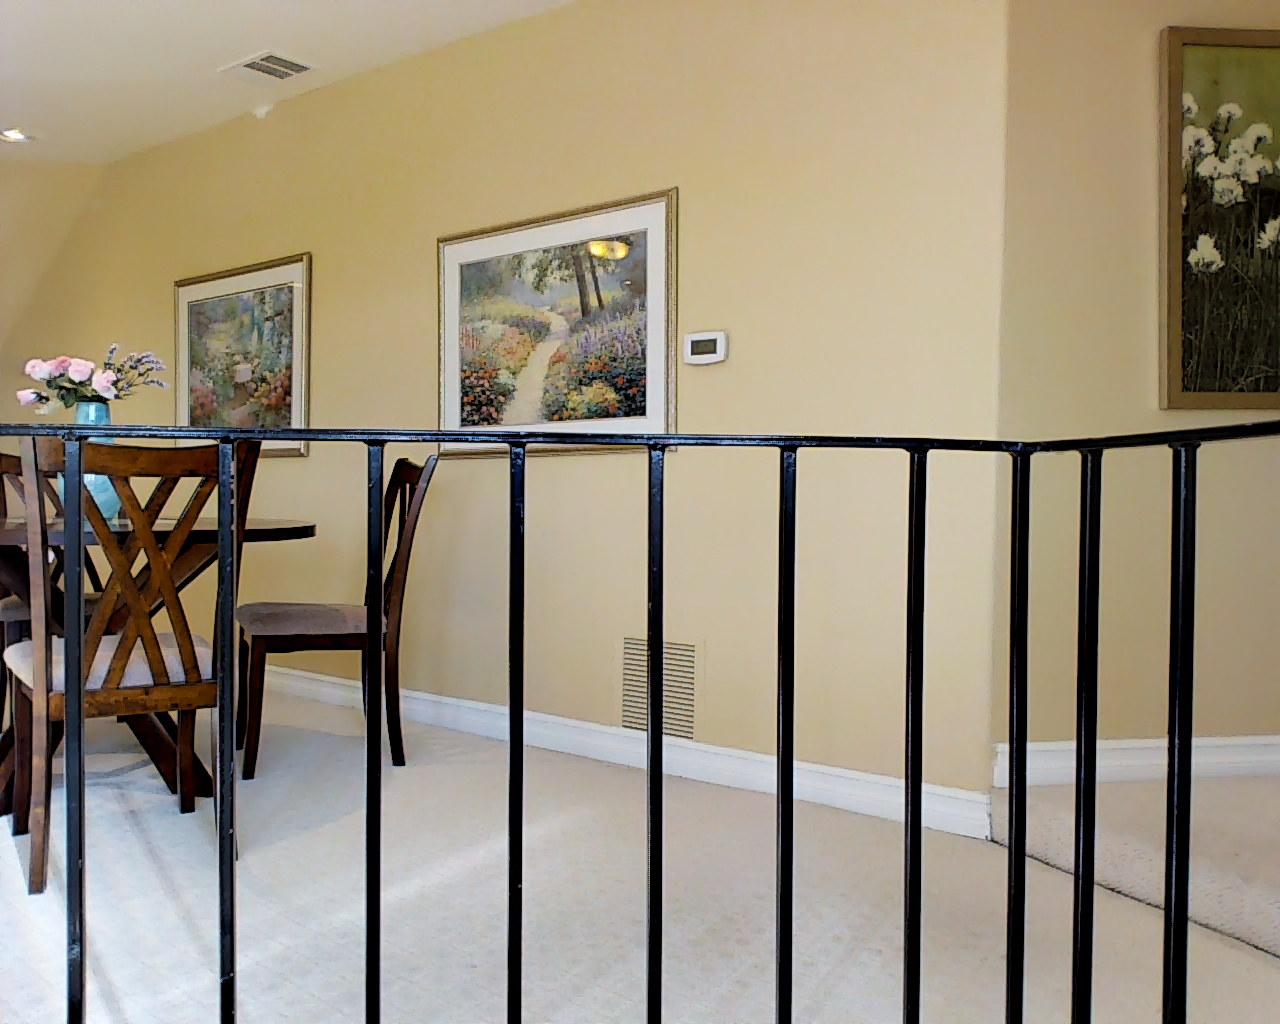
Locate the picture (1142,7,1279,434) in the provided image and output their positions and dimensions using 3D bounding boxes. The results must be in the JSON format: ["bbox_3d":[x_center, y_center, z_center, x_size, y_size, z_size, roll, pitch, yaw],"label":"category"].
[{"bbox_3d":[1.610,-0.750,2.810,0.560,1.080,0.060,1,0,-7],"label":"picture"}]
